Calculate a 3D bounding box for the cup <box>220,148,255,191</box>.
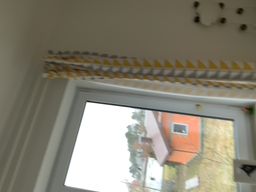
[{"bbox_3d":[0.820,0.520,1.470,0.240,0.260,0.230,84,-166,-66],"label":"cup"}]
